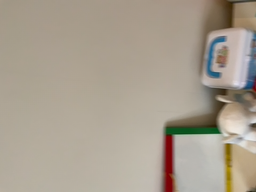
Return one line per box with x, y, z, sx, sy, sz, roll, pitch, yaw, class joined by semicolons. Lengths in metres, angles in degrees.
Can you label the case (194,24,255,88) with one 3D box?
0.360;-0.140;0.790;0.150;0.120;0.200;13;97;57;case
